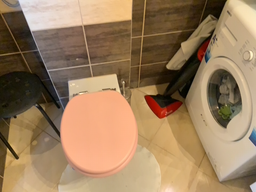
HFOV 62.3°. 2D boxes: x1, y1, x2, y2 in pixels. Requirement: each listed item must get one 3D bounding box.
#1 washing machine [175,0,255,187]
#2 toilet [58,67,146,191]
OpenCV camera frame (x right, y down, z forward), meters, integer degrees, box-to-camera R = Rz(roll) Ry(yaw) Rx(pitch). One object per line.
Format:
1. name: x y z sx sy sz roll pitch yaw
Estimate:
1. washing machine: 0.660 0.010 1.150 0.460 0.850 0.630 -9 54 -8
2. toilet: -0.160 0.220 1.220 0.360 0.460 0.570 -9 54 -8
